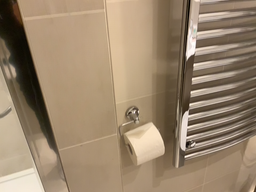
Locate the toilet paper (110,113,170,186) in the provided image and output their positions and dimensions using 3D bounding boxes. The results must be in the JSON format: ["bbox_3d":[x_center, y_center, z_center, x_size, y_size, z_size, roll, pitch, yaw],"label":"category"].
[{"bbox_3d":[0.040,0.180,0.740,0.160,0.170,0.120,-14,31,-19],"label":"toilet paper"}]
